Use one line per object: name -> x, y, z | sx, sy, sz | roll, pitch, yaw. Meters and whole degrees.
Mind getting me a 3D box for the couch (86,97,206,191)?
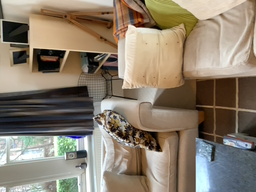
couch -> 0.110, 1.130, 2.210 | 1.040, 0.810, 2.200 | 1, 92, 64
